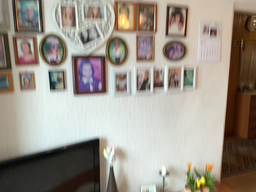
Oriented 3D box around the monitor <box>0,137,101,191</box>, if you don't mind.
[{"bbox_3d":[-0.530,0.640,1.390,0.770,0.580,0.060,-8,13,-36],"label":"monitor"}]
